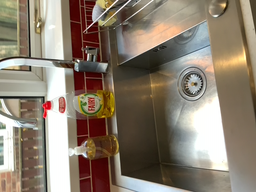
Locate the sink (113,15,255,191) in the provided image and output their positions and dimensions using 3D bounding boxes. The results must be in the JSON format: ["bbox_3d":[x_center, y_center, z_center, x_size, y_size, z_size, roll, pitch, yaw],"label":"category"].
[{"bbox_3d":[0.150,0.060,0.740,0.490,0.130,0.460,-15,77,52],"label":"sink"}]
